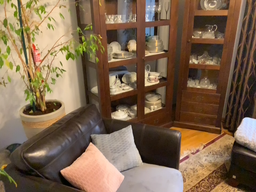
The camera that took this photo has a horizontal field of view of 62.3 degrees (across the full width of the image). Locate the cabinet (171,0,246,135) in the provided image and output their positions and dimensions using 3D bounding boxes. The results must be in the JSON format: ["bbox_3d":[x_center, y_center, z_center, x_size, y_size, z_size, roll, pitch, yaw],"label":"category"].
[{"bbox_3d":[1.020,-0.500,2.880,0.680,1.980,0.510,5,24,13],"label":"cabinet"}]

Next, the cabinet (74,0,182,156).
[{"bbox_3d":[0.040,-0.380,2.660,1.140,1.940,0.490,-17,28,-33],"label":"cabinet"}]

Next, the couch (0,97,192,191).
[{"bbox_3d":[-0.130,0.640,1.580,1.000,0.850,0.950,8,24,19],"label":"couch"}]
